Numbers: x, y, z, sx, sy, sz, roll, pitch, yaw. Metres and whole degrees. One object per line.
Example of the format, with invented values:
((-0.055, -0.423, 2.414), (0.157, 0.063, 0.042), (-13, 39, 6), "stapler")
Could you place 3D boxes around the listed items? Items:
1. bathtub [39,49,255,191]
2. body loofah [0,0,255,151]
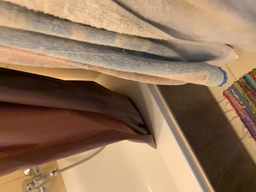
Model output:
((0.230, 0.590, 0.950), (0.680, 0.580, 1.380), (-37, 71, 35), "bathtub")
((0.200, -0.200, 0.510), (0.530, 1.270, 0.280), (-36, 72, 35), "body loofah")
